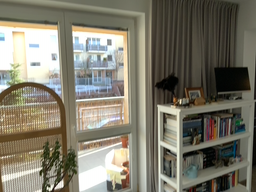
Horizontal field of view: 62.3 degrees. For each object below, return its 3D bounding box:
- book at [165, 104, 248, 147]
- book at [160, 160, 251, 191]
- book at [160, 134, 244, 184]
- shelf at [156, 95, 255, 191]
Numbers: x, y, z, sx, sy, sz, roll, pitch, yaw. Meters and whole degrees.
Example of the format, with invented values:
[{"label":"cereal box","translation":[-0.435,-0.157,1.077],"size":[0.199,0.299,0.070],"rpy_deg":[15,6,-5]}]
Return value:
[{"label":"book","translation":[0.940,0.310,2.490],"size":[1.050,0.310,0.290],"rpy_deg":[-5,8,-28]},{"label":"book","translation":[0.960,1.100,2.590],"size":[1.130,0.300,0.350],"rpy_deg":[-4,8,-26]},{"label":"book","translation":[0.920,0.720,2.560],"size":[1.090,0.290,0.280],"rpy_deg":[-5,8,-27]},{"label":"shelf","translation":[0.940,0.700,2.540],"size":[1.210,1.320,0.380],"rpy_deg":[-5,8,-29]}]
